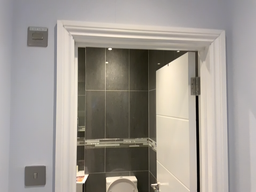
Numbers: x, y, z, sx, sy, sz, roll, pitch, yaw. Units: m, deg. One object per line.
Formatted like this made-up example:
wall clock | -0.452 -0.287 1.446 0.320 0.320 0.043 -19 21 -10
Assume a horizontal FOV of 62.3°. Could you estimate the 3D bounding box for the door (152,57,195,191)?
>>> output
door | 0.300 0.780 1.560 0.050 2.000 0.700 1 -2 -10
